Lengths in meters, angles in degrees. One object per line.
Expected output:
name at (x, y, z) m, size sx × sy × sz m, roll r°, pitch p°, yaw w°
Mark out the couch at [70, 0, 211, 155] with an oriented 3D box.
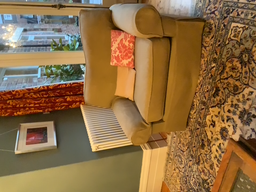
couch at (-0.030, -0.330, 2.190) m, size 1.140 × 0.930 × 1.240 m, roll -128°, pitch 37°, yaw -59°
